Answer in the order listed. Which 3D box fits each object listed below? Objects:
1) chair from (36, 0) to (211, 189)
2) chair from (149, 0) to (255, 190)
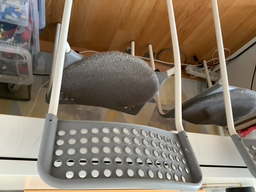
[{"bbox_3d":[-0.070,-0.090,0.760,0.360,0.760,0.440,9,152,-20],"label":"chair"},{"bbox_3d":[0.400,-0.010,0.940,0.370,0.760,0.480,11,152,-23],"label":"chair"}]
